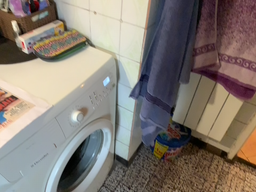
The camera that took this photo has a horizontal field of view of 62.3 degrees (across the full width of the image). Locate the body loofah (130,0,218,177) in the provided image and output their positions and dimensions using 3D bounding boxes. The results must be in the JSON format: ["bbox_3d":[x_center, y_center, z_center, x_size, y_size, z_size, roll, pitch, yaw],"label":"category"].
[{"bbox_3d":[0.200,-0.090,0.990,0.120,1.320,0.300,27,46,22],"label":"body loofah"}]

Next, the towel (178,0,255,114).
[{"bbox_3d":[0.510,-0.230,0.950,0.410,0.500,0.210,24,45,18],"label":"towel"}]
